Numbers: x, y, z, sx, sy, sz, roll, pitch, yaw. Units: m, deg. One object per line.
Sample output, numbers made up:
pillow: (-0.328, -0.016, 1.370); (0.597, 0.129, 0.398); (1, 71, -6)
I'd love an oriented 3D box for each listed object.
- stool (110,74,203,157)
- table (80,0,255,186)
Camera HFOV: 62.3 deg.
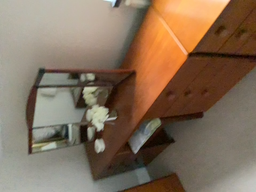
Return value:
stool: (0.210, 0.160, 1.850); (0.440, 0.470, 0.540); (64, 142, 31)
table: (0.140, 0.140, 1.810); (0.510, 0.620, 1.660); (64, 142, 31)
